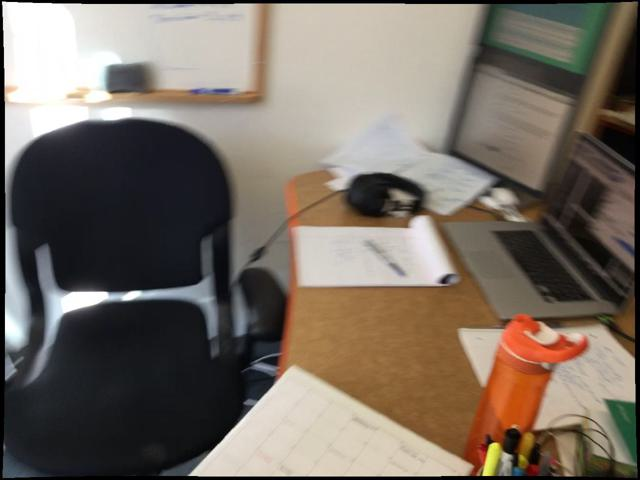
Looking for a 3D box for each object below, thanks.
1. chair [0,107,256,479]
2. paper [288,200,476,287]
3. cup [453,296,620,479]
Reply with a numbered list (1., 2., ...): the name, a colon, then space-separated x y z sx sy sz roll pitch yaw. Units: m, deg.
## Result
1. chair: -0.420 0.090 1.240 0.539 0.550 0.590 0 33 -8
2. paper: 0.120 0.000 1.260 0.360 0.060 0.250 0 33 -8
3. cup: 0.260 0.220 0.740 0.090 0.270 0.130 0 33 -8
